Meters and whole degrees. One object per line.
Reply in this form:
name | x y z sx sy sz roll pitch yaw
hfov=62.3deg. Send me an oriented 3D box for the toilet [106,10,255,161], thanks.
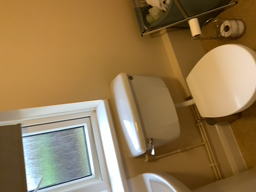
toilet | 0.440 -0.020 1.260 0.700 0.890 0.510 -46 55 58
